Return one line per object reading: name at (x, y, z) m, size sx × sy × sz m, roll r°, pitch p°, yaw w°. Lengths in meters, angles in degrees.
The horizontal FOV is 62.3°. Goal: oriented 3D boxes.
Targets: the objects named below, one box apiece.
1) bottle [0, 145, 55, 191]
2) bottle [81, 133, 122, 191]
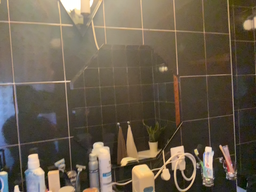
bottle at (-0.450, 0.330, 0.810) m, size 0.310 × 0.210 × 0.110 m, roll -4°, pitch 3°, yaw -23°
bottle at (-0.130, 0.300, 0.990) m, size 0.120 × 0.210 × 0.180 m, roll -5°, pitch 3°, yaw -28°
